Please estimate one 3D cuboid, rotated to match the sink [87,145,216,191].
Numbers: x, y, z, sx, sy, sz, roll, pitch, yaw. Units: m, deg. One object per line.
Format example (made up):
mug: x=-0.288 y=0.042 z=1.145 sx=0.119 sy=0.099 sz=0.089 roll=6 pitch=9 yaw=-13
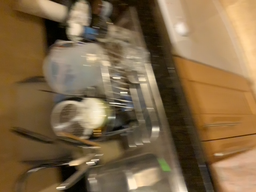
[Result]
sink: x=0.100 y=0.490 z=0.820 sx=0.440 sy=0.260 sz=0.490 roll=-28 pitch=65 yaw=42
